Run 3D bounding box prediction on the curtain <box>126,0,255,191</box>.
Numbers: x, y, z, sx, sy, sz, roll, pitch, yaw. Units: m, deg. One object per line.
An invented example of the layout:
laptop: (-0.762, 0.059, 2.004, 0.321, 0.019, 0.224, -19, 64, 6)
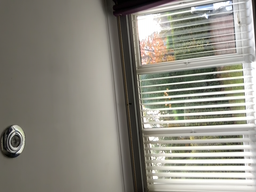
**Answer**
curtain: (0.730, -0.020, 2.350, 0.050, 1.300, 2.290, -26, -69, -75)
